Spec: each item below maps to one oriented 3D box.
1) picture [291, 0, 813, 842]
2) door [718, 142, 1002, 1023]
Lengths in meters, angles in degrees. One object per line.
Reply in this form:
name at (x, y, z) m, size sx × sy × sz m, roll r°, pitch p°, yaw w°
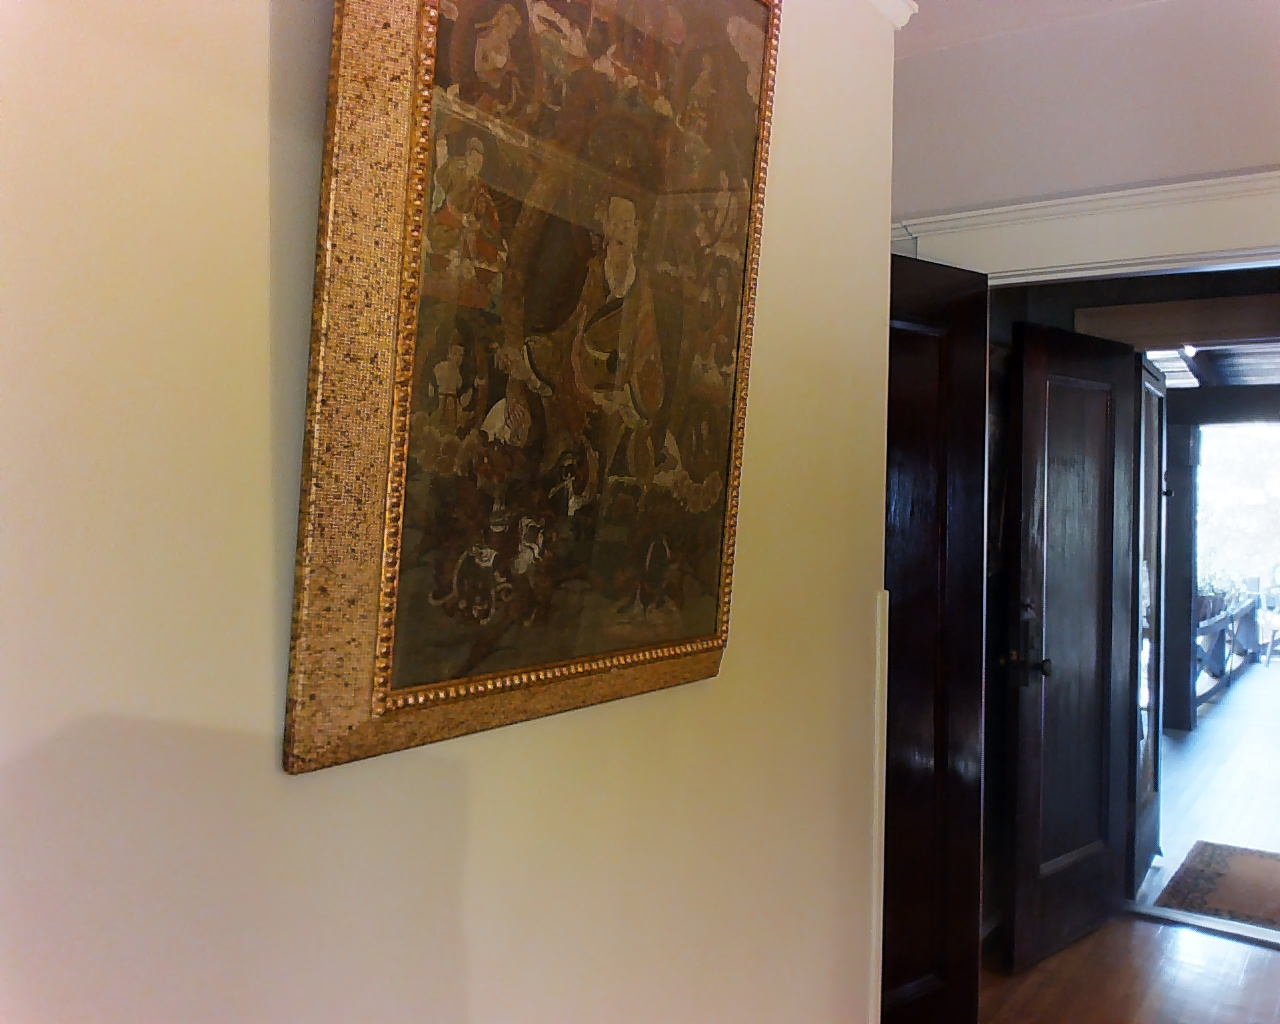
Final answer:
picture at (-0.030, -0.220, 1.020) m, size 0.110 × 0.890 × 0.630 m, roll -1°, pitch -1°, yaw 36°
door at (0.560, 0.370, 2.580) m, size 0.960 × 2.270 × 0.050 m, roll 1°, pitch 1°, yaw -41°
